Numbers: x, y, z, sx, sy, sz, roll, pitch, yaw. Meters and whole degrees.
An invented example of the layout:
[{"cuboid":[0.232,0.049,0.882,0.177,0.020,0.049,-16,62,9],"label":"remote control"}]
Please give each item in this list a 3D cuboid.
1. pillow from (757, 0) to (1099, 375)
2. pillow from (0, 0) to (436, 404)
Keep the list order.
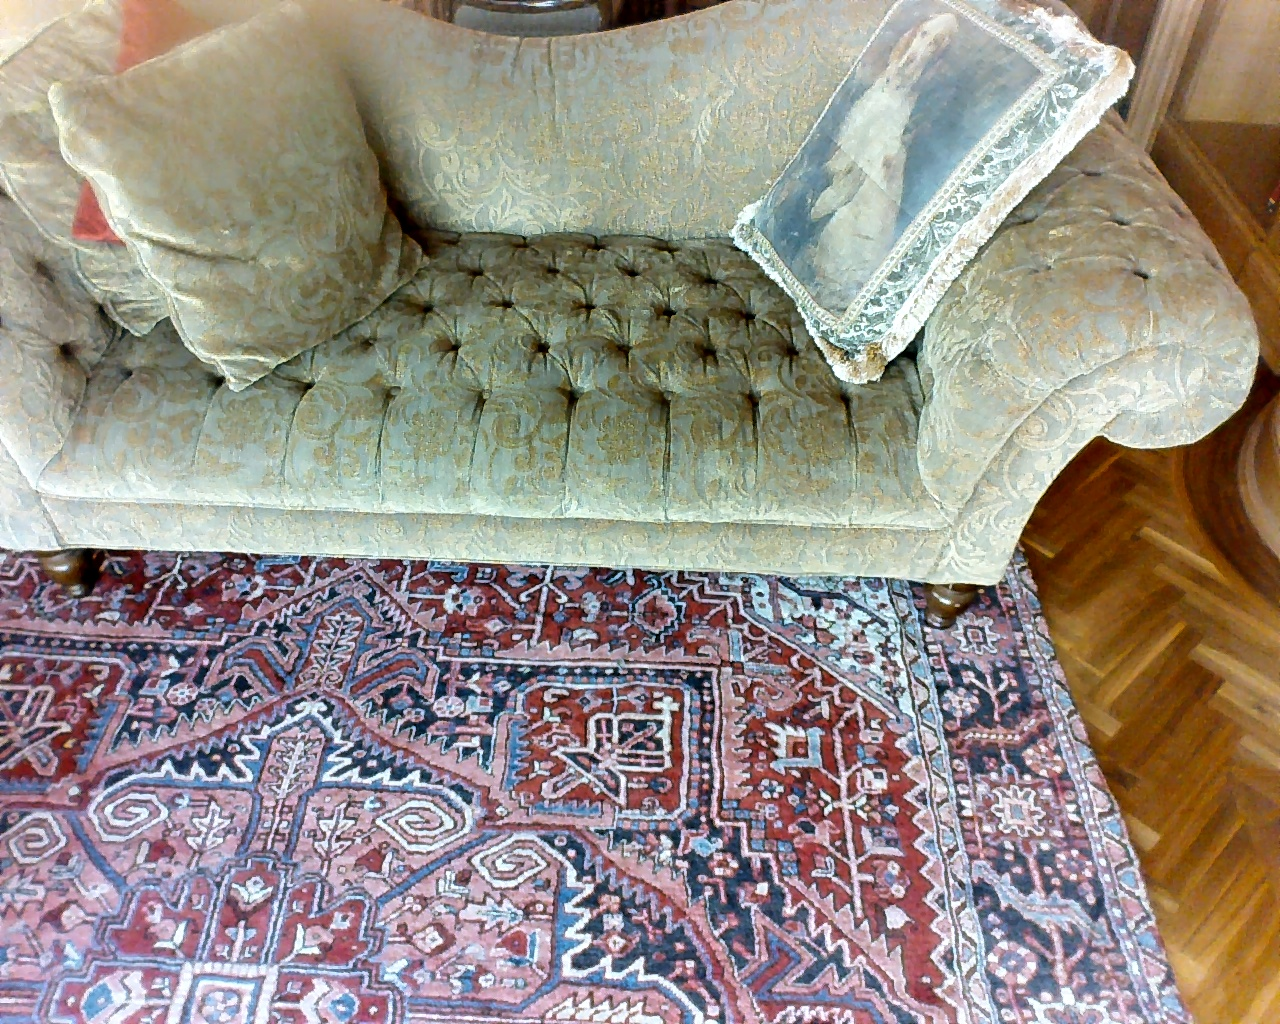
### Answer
[{"cuboid":[0.450,-0.610,1.810,0.210,0.710,0.600,-1,11,-21],"label":"pillow"},{"cuboid":[-0.710,-0.600,1.770,0.580,0.510,0.690,2,42,0],"label":"pillow"}]
